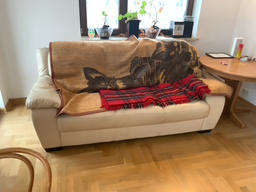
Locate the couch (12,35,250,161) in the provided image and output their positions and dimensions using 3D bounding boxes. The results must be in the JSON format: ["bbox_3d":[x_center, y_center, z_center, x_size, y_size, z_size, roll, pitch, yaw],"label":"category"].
[{"bbox_3d":[0.010,-0.120,2.540,2.120,0.970,1.130,-3,27,-12],"label":"couch"}]

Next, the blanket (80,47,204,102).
[{"bbox_3d":[0.180,-0.280,2.560,1.440,0.560,0.190,-4,27,-14],"label":"blanket"}]
